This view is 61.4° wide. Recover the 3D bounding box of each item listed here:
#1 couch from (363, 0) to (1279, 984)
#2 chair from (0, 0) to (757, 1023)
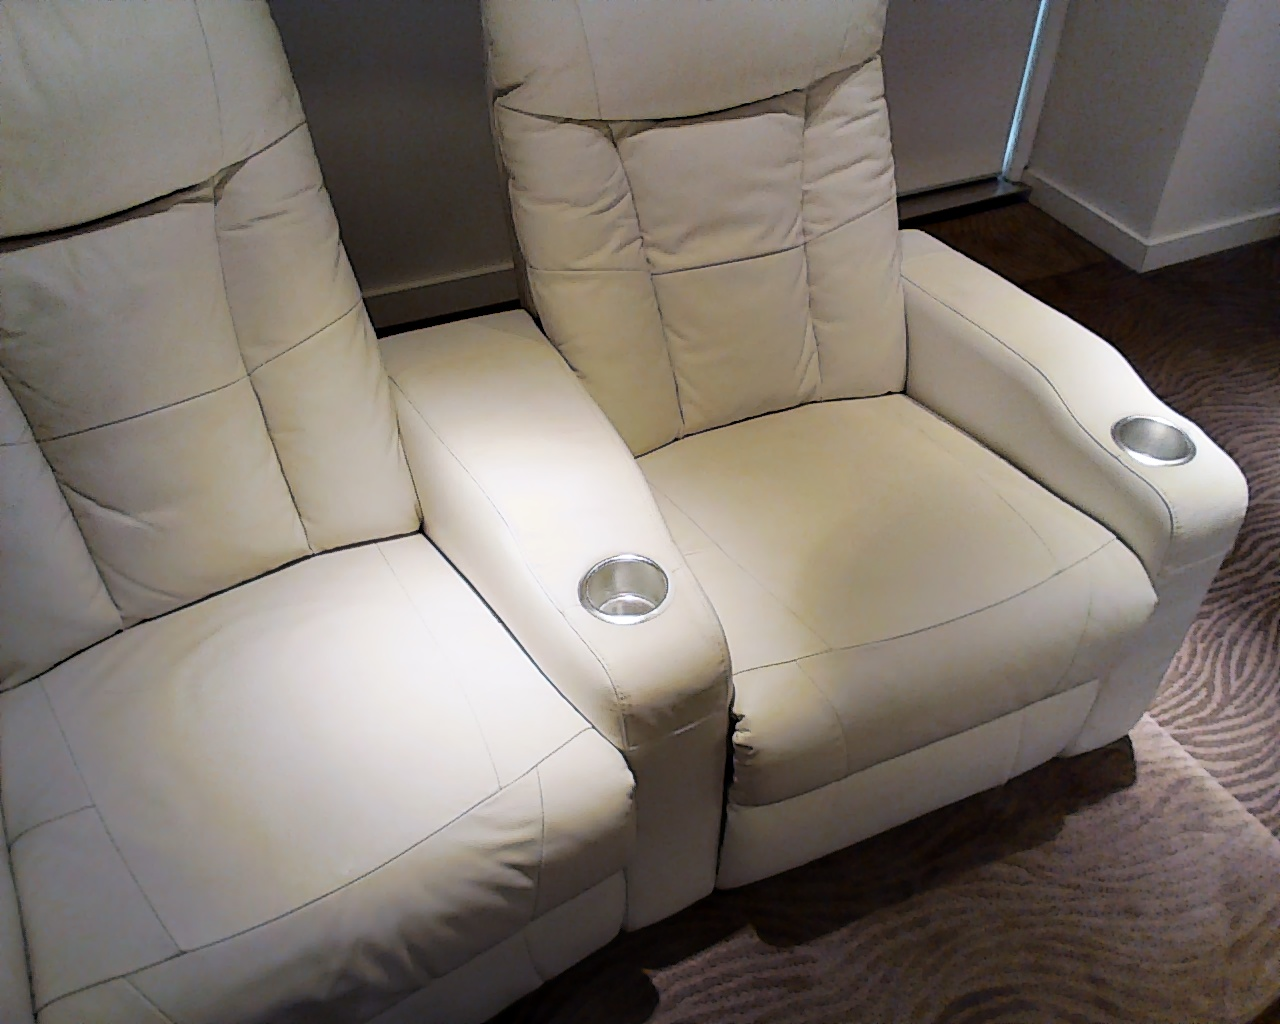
[{"bbox_3d":[0.230,-0.200,1.540,0.890,1.070,1.000,-16,45,-18],"label":"couch"},{"bbox_3d":[-0.490,0.060,1.220,0.720,1.060,0.970,-22,47,-23],"label":"chair"}]
